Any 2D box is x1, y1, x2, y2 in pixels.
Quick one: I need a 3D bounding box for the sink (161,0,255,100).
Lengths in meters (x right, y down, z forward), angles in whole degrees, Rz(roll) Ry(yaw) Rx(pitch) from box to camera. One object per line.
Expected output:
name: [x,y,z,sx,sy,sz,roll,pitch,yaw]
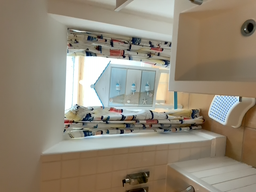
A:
sink: [0.370,-0.220,0.780,0.620,0.140,0.450,6,95,63]
